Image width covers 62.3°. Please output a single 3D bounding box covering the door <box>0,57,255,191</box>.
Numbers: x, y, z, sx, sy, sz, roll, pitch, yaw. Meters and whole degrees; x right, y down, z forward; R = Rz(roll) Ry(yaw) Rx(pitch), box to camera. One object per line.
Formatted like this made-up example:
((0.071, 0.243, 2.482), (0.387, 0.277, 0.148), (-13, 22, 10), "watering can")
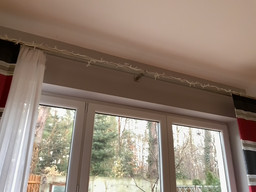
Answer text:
((0.220, 1.120, 1.770), (2.480, 2.540, 0.180), (12, -24, -23), "door")
